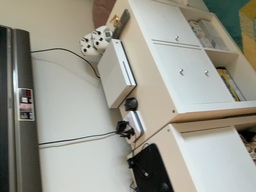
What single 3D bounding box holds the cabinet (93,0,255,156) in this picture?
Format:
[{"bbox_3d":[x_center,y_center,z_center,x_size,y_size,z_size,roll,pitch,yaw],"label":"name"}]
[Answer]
[{"bbox_3d":[0.290,-0.140,1.330,0.480,0.750,0.780,-49,50,46],"label":"cabinet"}]
